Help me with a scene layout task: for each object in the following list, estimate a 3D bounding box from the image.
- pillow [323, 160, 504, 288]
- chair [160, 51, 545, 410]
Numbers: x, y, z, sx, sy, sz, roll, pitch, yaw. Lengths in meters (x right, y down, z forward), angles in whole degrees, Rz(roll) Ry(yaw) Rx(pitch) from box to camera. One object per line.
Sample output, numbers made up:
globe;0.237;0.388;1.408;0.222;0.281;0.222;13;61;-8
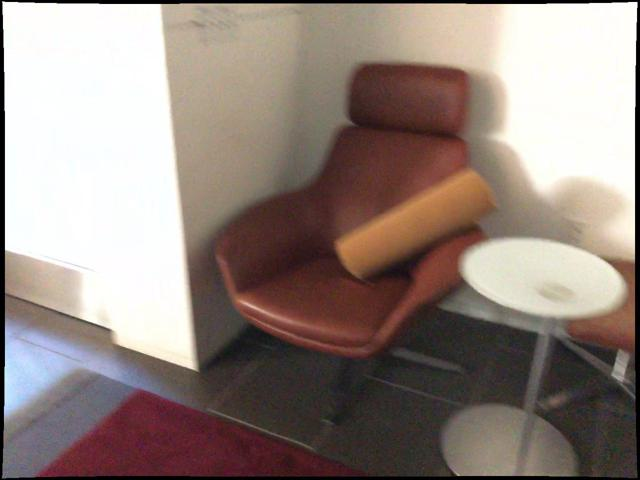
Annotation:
pillow;0.329;-0.060;2.120;0.609;0.190;0.190;-25;14;10
chair;0.180;-0.150;2.020;0.928;0.762;0.960;12;31;23
